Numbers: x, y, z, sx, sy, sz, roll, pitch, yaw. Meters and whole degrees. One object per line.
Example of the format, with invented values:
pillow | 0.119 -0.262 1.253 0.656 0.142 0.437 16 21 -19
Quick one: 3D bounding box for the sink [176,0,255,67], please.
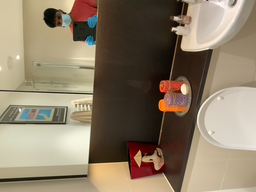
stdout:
sink | 0.470 -0.470 1.030 0.460 0.180 0.560 -124 39 -66
